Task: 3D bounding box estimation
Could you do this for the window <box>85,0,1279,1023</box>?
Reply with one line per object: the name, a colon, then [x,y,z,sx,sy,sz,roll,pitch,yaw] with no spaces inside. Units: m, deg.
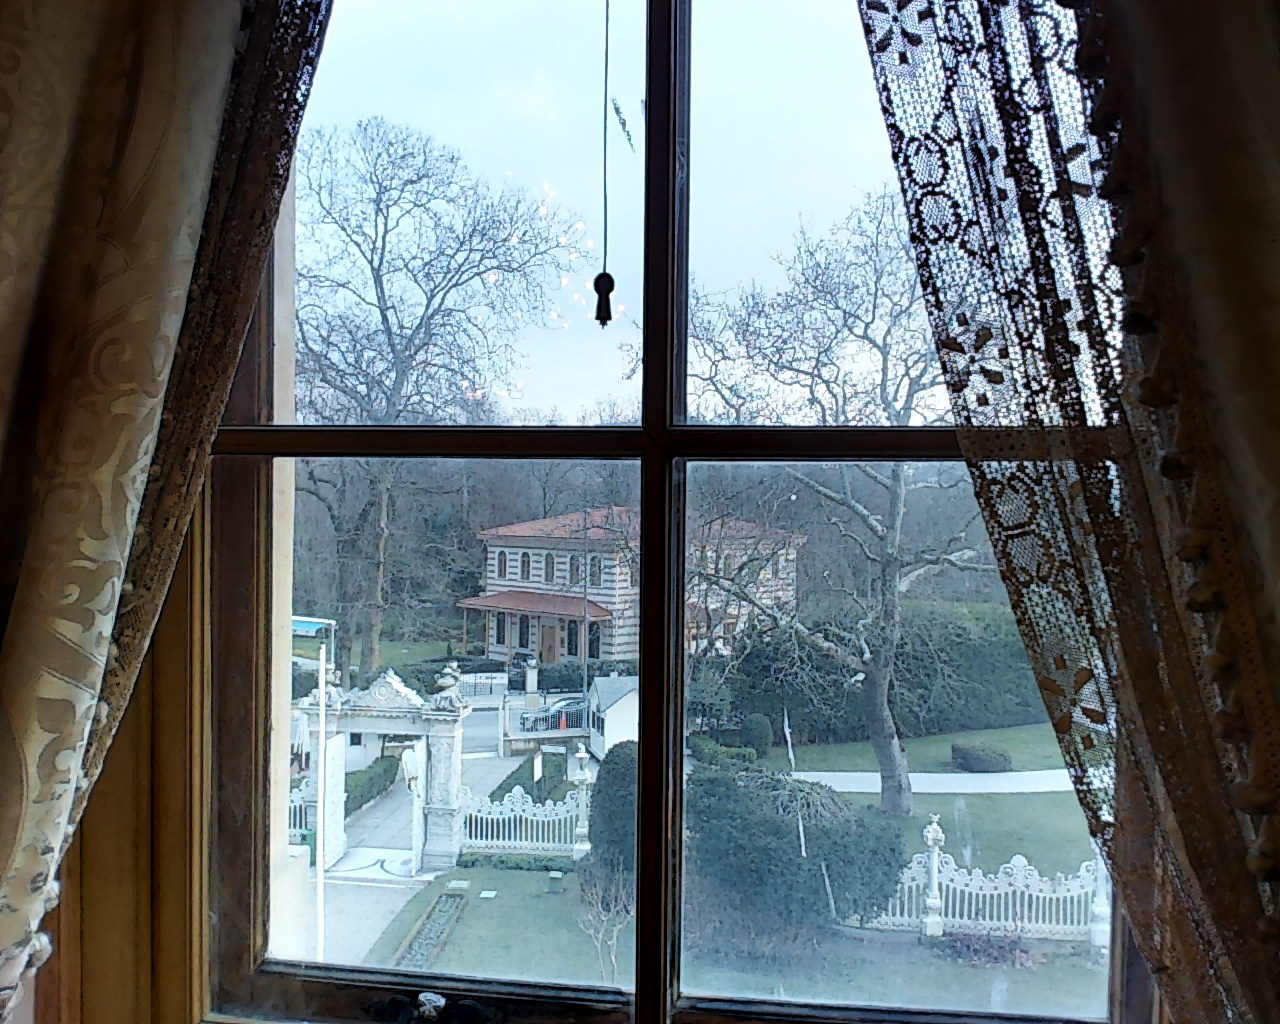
window: [0.060,-0.510,1.250,1.349,2.541,0.190,1,0,7]
